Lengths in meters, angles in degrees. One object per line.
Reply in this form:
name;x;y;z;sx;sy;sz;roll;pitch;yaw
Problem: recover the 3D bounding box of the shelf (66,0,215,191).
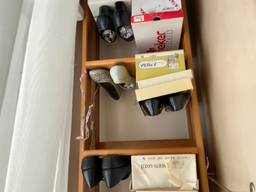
shelf;0.040;-0.110;0.850;0.430;2.040;0.280;-4;165;9
